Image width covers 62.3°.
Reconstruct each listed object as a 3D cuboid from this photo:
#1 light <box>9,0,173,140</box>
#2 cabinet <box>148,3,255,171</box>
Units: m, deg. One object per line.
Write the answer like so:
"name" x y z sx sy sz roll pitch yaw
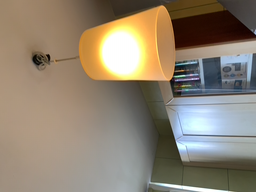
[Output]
"light" -0.090 -0.140 0.710 0.440 0.300 0.230 -63 -32 -19
"cabinet" 0.650 0.060 1.420 1.190 0.730 0.330 66 -150 -42
